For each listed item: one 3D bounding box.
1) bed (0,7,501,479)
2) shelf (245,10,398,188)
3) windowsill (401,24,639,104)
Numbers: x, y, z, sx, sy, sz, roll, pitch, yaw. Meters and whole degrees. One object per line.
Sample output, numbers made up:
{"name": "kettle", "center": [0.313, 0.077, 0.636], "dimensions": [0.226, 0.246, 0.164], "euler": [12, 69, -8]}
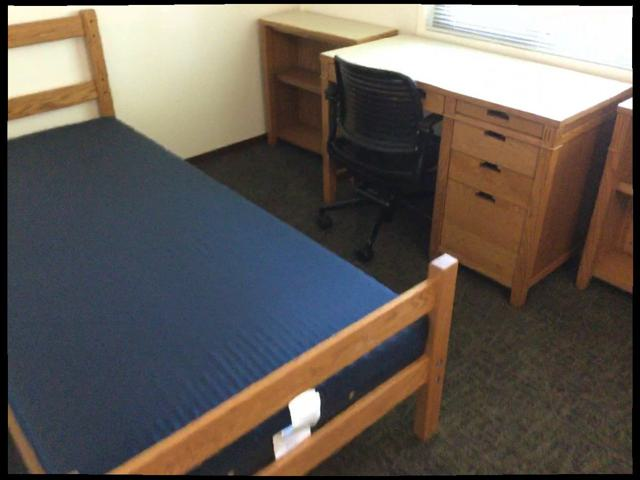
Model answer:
{"name": "bed", "center": [-0.739, -0.050, 1.920], "dimensions": [1.139, 0.921, 2.179], "euler": [-26, 41, -34]}
{"name": "shelf", "center": [-0.010, -0.822, 3.270], "dimensions": [0.370, 0.751, 0.800], "euler": [-26, 41, -34]}
{"name": "windowsill", "center": [1.278, -0.541, 2.130], "dimensions": [0.080, 0.090, 2.489], "euler": [-26, 41, -34]}
